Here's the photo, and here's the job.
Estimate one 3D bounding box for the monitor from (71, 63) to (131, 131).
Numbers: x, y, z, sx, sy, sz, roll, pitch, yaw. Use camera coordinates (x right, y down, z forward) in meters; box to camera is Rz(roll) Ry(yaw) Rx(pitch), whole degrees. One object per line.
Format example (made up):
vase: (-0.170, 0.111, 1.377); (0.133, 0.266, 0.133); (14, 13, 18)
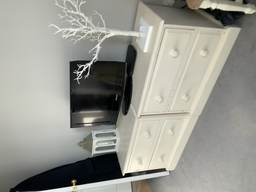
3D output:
monitor: (-0.250, 0.020, 1.830); (0.060, 0.460, 0.630); (-122, 34, -46)
